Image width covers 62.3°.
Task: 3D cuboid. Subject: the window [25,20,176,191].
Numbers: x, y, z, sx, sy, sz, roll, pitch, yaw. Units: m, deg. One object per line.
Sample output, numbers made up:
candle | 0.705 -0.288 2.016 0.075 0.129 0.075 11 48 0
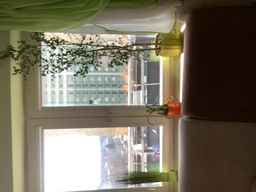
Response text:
window | -0.240 0.190 2.130 0.100 1.450 1.800 -175 85 -82
